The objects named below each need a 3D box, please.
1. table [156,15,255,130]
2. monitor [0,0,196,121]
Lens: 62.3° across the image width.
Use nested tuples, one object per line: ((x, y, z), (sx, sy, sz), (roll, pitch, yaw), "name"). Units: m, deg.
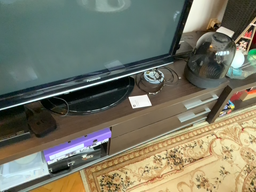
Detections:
((0.990, -0.300, 1.870), (1.210, 0.360, 0.750), (-18, 52, -24), "table")
((-0.140, -0.260, 0.870), (1.020, 0.670, 0.040), (-18, 53, -25), "monitor")
